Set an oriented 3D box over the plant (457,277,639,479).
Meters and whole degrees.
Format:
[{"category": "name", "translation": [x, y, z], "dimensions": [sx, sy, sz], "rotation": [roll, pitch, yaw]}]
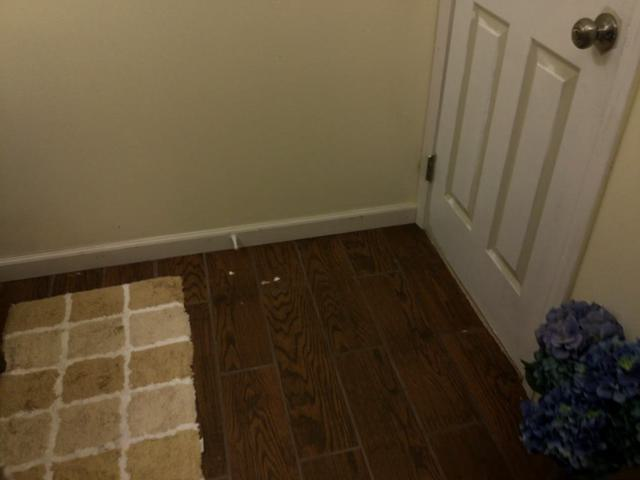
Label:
[{"category": "plant", "translation": [0.490, 0.370, 1.170], "dimensions": [0.230, 0.440, 0.350], "rotation": [-7, 35, -12]}]
